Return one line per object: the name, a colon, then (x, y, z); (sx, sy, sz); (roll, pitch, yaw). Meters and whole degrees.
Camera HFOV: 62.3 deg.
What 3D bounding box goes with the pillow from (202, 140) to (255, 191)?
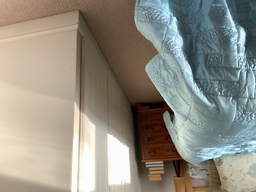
pillow: (0.970, 0.680, 1.850); (0.450, 0.390, 0.170); (-26, 151, -3)
